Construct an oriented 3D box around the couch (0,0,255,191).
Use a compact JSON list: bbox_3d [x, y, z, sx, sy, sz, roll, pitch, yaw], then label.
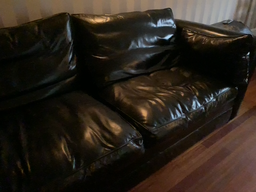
[{"bbox_3d":[-0.180,-0.010,1.430,2.300,0.890,1.230,-23,39,-30],"label":"couch"}]
